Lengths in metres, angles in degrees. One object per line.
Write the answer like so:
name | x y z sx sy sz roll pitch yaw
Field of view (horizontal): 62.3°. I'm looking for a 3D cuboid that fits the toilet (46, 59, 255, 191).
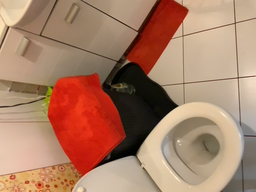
toilet | 0.170 0.310 0.930 0.710 0.730 0.370 -52 58 21
